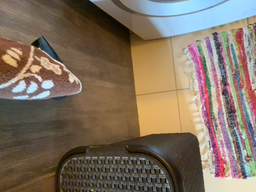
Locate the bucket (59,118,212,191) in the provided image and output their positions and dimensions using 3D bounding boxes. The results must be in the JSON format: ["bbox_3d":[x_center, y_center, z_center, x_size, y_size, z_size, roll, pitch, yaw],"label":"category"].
[{"bbox_3d":[0.110,0.350,0.710,0.270,0.610,0.490,-9,84,24],"label":"bucket"}]
